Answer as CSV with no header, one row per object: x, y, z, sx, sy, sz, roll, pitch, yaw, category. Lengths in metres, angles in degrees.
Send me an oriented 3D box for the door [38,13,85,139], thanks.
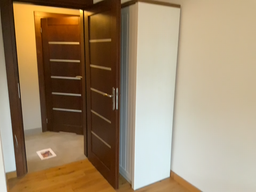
-1.140,-0.310,3.700,0.740,2.120,0.100,5,13,14,door
